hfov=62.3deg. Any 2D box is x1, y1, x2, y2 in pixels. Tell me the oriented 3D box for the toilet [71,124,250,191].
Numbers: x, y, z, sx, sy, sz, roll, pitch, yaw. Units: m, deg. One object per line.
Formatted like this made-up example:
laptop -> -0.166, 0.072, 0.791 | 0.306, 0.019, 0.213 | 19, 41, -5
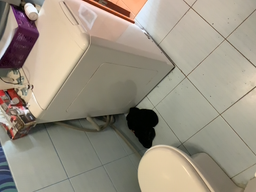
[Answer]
toilet -> 0.280, 0.570, 1.050 | 0.350, 0.840, 0.690 | -47, 64, 27
